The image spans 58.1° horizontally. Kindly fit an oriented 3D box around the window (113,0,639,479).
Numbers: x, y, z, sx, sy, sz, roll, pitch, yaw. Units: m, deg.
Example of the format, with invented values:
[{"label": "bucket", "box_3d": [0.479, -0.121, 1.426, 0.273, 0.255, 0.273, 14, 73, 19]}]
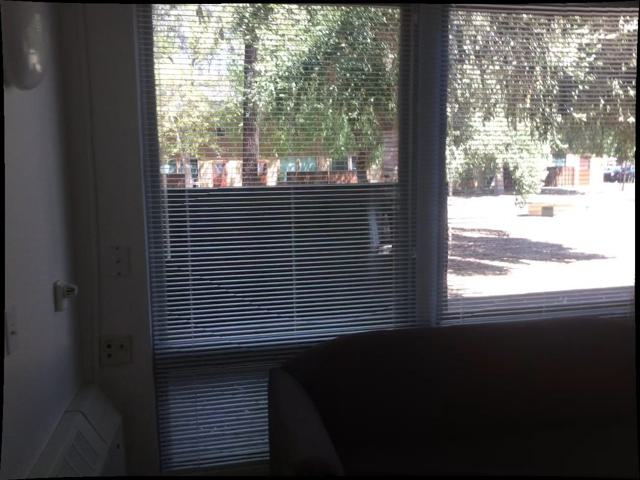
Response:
[{"label": "window", "box_3d": [0.439, -0.110, 2.550, 2.376, 1.993, 0.470, -3, 10, -9]}]
